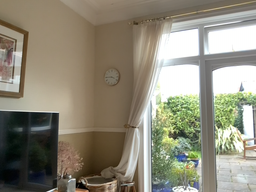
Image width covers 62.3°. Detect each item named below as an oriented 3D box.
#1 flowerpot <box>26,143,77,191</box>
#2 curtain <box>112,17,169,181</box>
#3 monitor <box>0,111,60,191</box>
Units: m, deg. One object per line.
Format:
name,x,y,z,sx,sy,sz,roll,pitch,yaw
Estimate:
flowerpot,-0.770,0.720,2.140,0.380,0.430,0.290,-2,-6,29
curtain,0.160,0.020,2.790,0.720,2.000,0.160,-2,-6,23
monitor,-0.930,0.470,1.390,0.070,0.750,1.240,-2,-6,25
